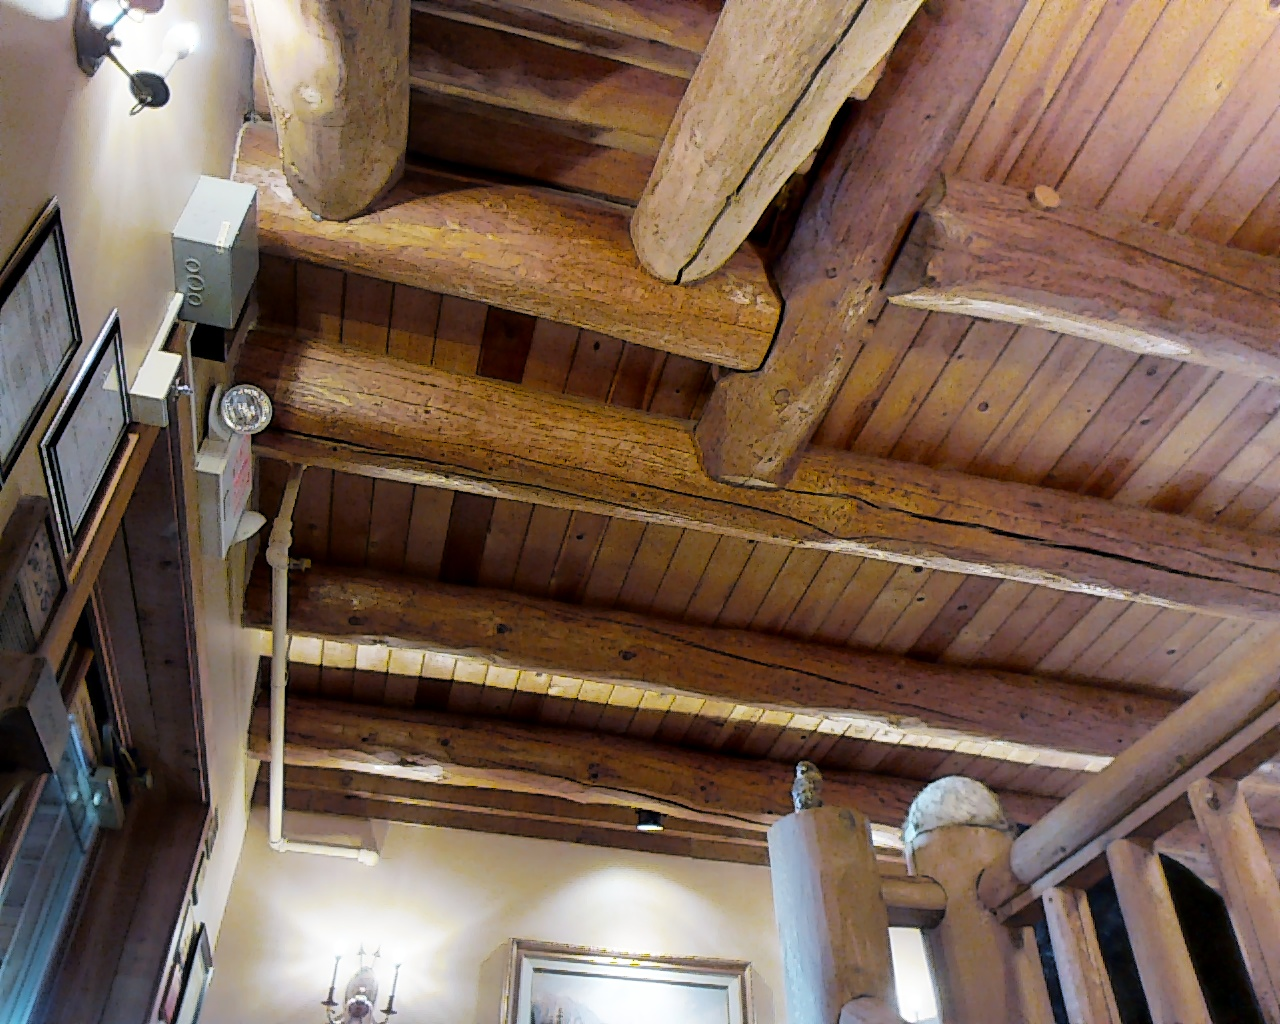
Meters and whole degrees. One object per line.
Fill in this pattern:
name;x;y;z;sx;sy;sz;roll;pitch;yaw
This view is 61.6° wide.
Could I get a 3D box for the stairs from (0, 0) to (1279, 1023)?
stairs;0.960;-0.780;0.550;3.279;3.031;3.771;10;-42;-10
